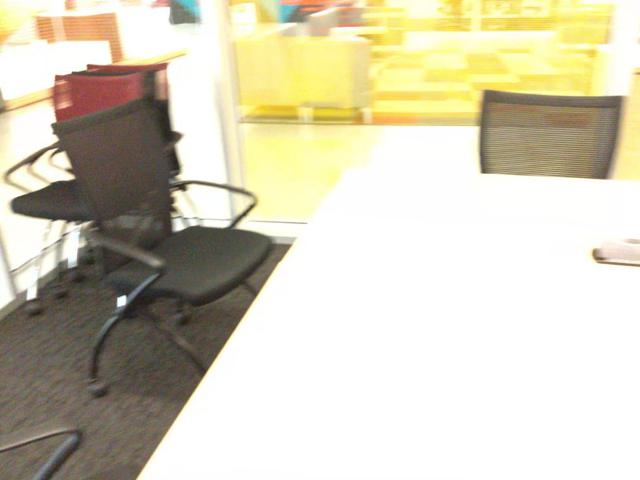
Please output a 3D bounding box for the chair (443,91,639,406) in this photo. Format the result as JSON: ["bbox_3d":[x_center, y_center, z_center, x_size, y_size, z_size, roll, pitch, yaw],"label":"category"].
[{"bbox_3d":[0.700,-0.010,1.910,0.480,0.850,0.560,5,24,13],"label":"chair"}]

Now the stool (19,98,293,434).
[{"bbox_3d":[-0.480,0.040,1.980,0.570,0.920,0.590,8,24,18],"label":"stool"}]

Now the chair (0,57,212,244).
[{"bbox_3d":[-0.990,-0.460,2.600,0.630,0.600,0.900,5,24,13],"label":"chair"}]
